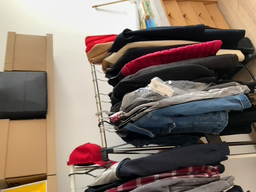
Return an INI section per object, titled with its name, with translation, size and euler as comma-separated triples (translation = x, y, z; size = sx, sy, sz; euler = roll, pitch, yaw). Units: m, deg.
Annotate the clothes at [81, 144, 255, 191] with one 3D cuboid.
[clothes]
translation = 0.410, 0.640, 1.210
size = 0.610, 1.250, 0.490
euler = 116, 147, -56
